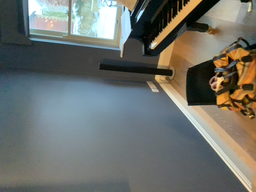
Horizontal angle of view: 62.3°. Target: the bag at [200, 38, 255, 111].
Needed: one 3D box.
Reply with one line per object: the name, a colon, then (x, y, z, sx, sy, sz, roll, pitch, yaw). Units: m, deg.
bag: (0.570, -0.100, 1.160, 0.320, 0.160, 0.340, -176, 89, -75)
